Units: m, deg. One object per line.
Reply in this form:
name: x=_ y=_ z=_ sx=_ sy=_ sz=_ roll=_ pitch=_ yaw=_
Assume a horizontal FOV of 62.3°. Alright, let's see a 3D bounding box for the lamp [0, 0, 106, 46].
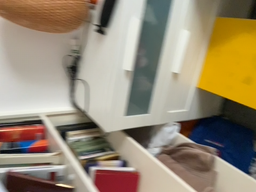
lamp: x=-0.330 y=-0.370 z=0.880 sx=0.210 sy=0.410 sz=0.250 roll=31 pitch=117 yaw=48
